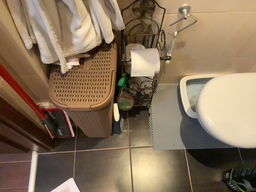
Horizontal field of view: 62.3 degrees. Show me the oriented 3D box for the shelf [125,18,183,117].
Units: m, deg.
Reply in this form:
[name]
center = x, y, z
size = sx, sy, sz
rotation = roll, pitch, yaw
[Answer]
[shelf]
center = 0.100, -0.110, 1.160
size = 0.220, 0.560, 0.270
rotation = -3, 65, -2
